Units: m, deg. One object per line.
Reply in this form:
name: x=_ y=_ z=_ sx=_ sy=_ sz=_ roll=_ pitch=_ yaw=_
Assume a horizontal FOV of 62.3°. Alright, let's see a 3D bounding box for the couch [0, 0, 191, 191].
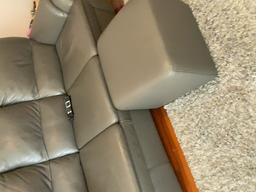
couch: x=-0.480 y=0.130 z=1.590 sx=0.980 sy=0.990 sz=2.030 roll=-37 pitch=62 yaw=43
